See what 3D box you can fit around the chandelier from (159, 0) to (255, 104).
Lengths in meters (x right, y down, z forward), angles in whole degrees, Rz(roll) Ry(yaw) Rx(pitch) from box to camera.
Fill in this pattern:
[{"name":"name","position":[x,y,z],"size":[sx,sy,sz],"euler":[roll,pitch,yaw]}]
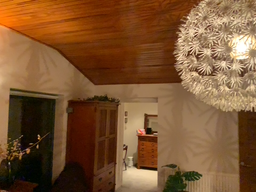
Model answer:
[{"name":"chandelier","position":[0.790,-0.470,1.480],"size":[0.780,1.020,0.820],"euler":[4,175,-34]}]

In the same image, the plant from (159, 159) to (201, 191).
[{"name":"plant","position":[0.950,1.600,3.750],"size":[0.620,0.730,0.780],"euler":[-1,176,22]}]
